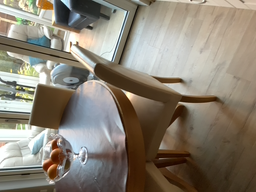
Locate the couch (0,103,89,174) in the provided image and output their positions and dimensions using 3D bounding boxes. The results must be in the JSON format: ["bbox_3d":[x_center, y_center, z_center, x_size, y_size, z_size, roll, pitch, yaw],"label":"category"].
[{"bbox_3d":[-1.320,0.600,3.220,0.790,1.090,0.690,27,105,52],"label":"couch"}]

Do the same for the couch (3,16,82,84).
[{"bbox_3d":[-1.600,-0.830,3.920,0.800,1.090,0.830,39,114,49],"label":"couch"}]

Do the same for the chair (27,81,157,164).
[{"bbox_3d":[-0.330,0.230,1.970,0.560,0.970,0.460,32,109,51],"label":"chair"}]
